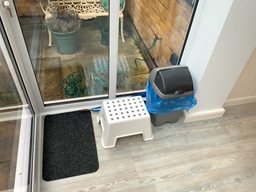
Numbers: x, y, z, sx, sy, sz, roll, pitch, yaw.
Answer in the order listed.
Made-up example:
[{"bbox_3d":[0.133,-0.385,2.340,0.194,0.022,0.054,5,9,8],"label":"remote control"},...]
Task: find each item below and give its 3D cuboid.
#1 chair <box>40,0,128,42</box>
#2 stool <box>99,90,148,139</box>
[{"bbox_3d":[-0.610,-1.310,3.000,1.130,0.850,0.480,-7,47,-14],"label":"chair"},{"bbox_3d":[-0.050,0.150,1.770,0.340,0.250,0.270,-6,46,-12],"label":"stool"}]
